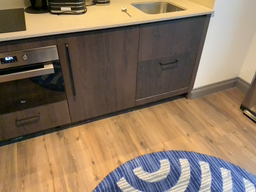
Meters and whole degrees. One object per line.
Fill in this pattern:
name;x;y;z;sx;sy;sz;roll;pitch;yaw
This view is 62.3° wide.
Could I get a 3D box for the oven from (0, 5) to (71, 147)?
oven;-0.880;-0.180;1.700;0.610;0.870;0.630;-12;39;-21
